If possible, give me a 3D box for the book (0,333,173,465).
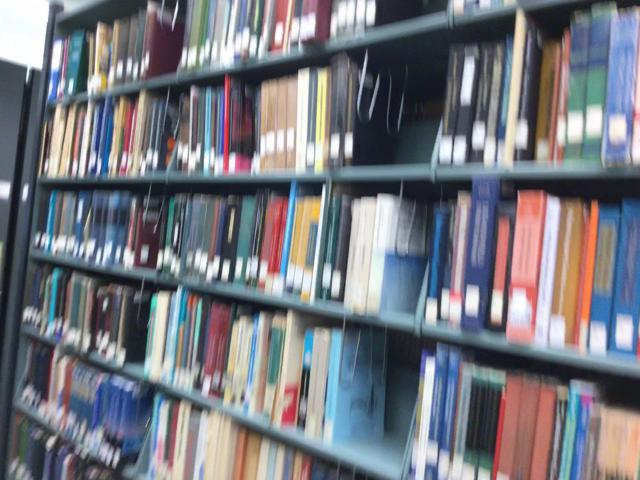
[{"bbox_3d":[-0.870,0.530,2.070,0.850,0.280,0.170,2,-6,40],"label":"book"}]

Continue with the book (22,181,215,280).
[{"bbox_3d":[-0.750,-0.040,2.080,0.810,0.290,0.200,3,-6,37],"label":"book"}]

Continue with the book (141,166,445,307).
[{"bbox_3d":[-0.120,-0.010,1.500,0.850,0.270,0.210,2,-7,41],"label":"book"}]

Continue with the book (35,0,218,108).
[{"bbox_3d":[-0.730,-0.680,2.090,0.840,0.260,0.180,2,-6,40],"label":"book"}]

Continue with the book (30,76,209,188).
[{"bbox_3d":[-0.750,-0.360,2.090,0.780,0.280,0.210,2,-6,40],"label":"book"}]

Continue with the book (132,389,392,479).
[{"bbox_3d":[-0.180,0.600,1.510,0.690,0.270,0.230,2,-6,39],"label":"book"}]

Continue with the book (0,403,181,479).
[{"bbox_3d":[-0.870,0.810,2.050,0.840,0.260,0.240,2,-6,39],"label":"book"}]

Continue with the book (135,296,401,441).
[{"bbox_3d":[-0.170,0.310,1.550,0.730,0.240,0.230,2,-6,39],"label":"book"}]

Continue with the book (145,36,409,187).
[{"bbox_3d":[-0.150,-0.310,1.570,0.750,0.270,0.210,2,-6,40],"label":"book"}]
